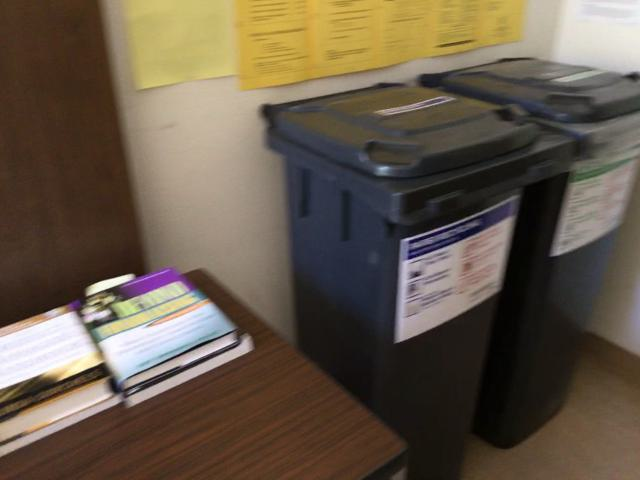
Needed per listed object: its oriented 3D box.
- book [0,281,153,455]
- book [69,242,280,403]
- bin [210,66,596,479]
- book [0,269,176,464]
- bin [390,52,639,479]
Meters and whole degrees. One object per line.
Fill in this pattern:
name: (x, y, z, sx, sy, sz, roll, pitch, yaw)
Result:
book: (-0.410, 0.180, 0.910, 0.180, 0.060, 0.310, -21, 30, -29)
book: (-0.260, 0.120, 1.000, 0.250, 0.060, 0.310, -21, 30, -29)
bin: (0.190, 0.200, 1.410, 0.560, 1.080, 0.540, -21, 30, -29)
book: (-0.480, 0.200, 0.870, 0.420, 0.070, 0.310, -21, 30, -29)
bin: (0.550, 0.070, 1.620, 0.440, 1.050, 0.520, -21, 30, -29)
